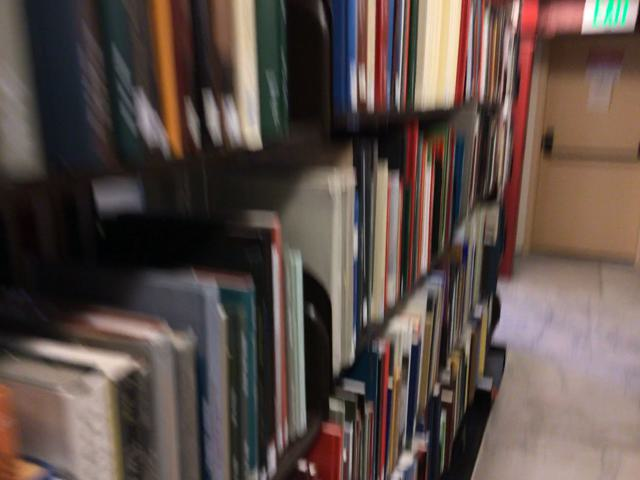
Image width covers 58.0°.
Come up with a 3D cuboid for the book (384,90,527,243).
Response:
[{"bbox_3d":[0.570,-0.350,2.200,0.250,0.400,1.230,10,18,23],"label":"book"}]

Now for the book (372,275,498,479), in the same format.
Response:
[{"bbox_3d":[0.410,0.500,1.920,0.160,0.480,0.960,10,18,23],"label":"book"}]
